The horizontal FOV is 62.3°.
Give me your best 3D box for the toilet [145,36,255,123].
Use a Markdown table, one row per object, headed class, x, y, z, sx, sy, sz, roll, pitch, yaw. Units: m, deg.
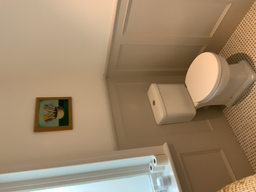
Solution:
| class | x | y | z | sx | sy | sz | roll | pitch | yaw |
| --- | --- | --- | --- | --- | --- | --- | --- | --- | --- |
| toilet | 0.650 | -0.130 | 1.940 | 0.670 | 0.750 | 0.420 | 108 | 154 | -50 |
